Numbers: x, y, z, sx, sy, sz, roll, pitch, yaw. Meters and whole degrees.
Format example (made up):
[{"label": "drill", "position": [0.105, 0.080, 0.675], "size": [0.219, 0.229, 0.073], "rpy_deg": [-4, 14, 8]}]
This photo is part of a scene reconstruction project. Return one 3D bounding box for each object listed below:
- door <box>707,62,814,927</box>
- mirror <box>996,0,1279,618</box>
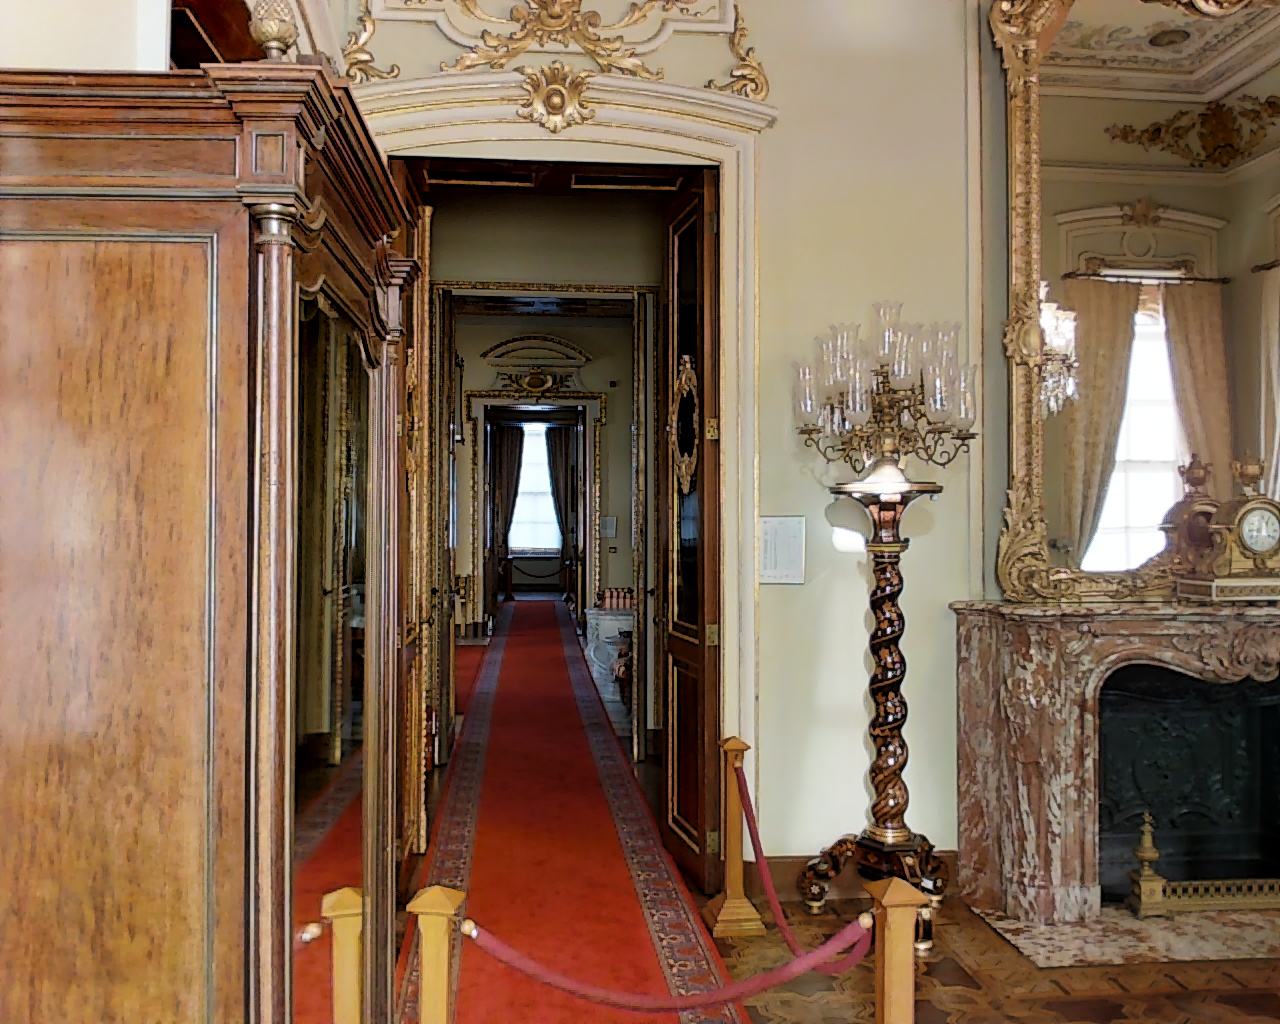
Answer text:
[{"label": "door", "position": [0.530, -0.080, 4.780], "size": [0.430, 3.732, 0.250], "rpy_deg": [0, -1, -5]}, {"label": "mirror", "position": [2.759, -1.221, 4.840], "size": [2.199, 3.341, 0.420], "rpy_deg": [0, -1, -5]}]
